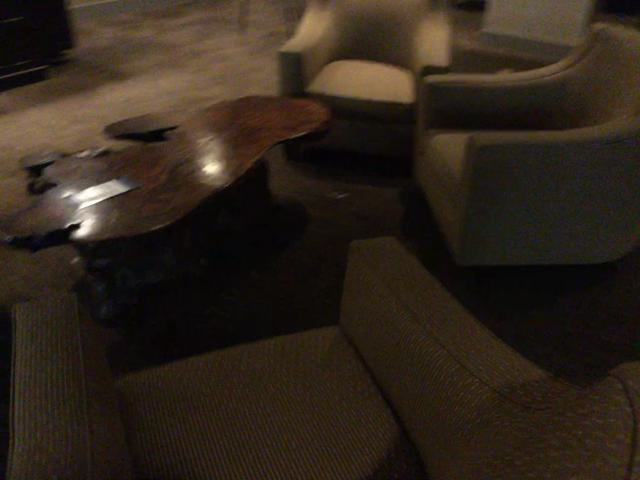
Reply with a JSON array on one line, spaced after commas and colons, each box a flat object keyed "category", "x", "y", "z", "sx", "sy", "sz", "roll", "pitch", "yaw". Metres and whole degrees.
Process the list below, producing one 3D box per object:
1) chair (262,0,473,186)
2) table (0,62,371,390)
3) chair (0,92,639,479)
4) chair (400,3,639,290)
[{"category": "chair", "x": 0.300, "y": -0.980, "z": 3.220, "sx": 0.940, "sy": 0.830, "sz": 1.070, "roll": 9, "pitch": 35, "yaw": 10}, {"category": "table", "x": -0.470, "y": -0.220, "z": 2.350, "sx": 0.750, "sy": 0.480, "sz": 1.540, "roll": 18, "pitch": 38, "yaw": 22}, {"category": "chair", "x": -0.050, "y": 0.410, "z": 0.990, "sx": 0.960, "sy": 0.890, "sz": 1.070, "roll": -12, "pitch": 37, "yaw": -19}, {"category": "chair", "x": 0.930, "y": -0.400, "z": 2.330, "sx": 1.010, "sy": 0.850, "sz": 0.850, "roll": 0, "pitch": 34, "yaw": -2}]
